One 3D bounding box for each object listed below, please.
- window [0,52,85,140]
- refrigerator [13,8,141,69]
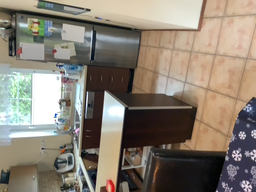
[{"bbox_3d":[-1.990,0.020,3.650,0.290,2.350,1.470,-144,58,-60],"label":"window"},{"bbox_3d":[-0.780,-0.860,3.330,0.720,1.770,0.630,-145,59,-60],"label":"refrigerator"}]
